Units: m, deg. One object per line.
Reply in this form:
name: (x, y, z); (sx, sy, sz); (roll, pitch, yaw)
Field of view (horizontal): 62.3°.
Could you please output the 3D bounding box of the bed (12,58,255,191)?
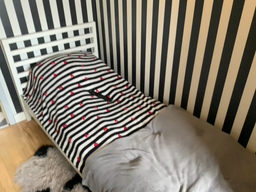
bed: (-0.100, 0.300, 1.890); (1.010, 0.440, 2.140); (-26, 40, -34)
